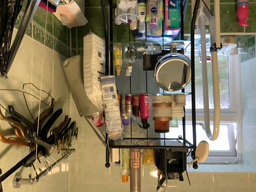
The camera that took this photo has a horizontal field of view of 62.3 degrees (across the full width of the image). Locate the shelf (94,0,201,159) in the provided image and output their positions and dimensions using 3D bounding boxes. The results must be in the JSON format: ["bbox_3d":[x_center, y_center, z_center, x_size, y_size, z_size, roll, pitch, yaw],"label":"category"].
[{"bbox_3d":[0.080,-0.590,1.060,0.410,1.670,0.460,0,179,2],"label":"shelf"}]
